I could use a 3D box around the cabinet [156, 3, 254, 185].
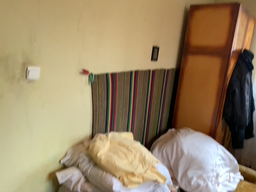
[{"bbox_3d":[1.040,-0.040,2.900,0.630,2.090,0.910,16,16,37],"label":"cabinet"}]

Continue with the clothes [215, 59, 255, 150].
[{"bbox_3d":[1.390,0.070,2.620,0.250,1.000,0.620,16,16,36],"label":"clothes"}]
